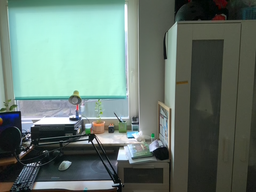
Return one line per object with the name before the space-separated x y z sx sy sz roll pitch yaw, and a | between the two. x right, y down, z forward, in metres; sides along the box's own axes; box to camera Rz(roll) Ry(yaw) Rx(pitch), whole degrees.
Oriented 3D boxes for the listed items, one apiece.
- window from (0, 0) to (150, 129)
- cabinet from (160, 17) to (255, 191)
window | -0.610 -0.420 2.180 1.640 1.470 0.220 -1 7 0
cabinet | 0.720 0.370 1.710 0.840 1.800 0.600 -1 7 2
